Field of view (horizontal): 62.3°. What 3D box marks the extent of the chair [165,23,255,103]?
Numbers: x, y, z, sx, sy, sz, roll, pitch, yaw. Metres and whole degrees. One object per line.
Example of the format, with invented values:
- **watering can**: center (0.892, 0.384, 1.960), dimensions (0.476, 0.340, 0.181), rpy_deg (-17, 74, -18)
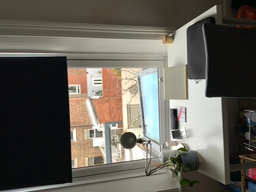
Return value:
- **chair**: center (0.750, -0.190, 1.390), dimensions (0.460, 0.860, 0.400), rpy_deg (180, 87, -75)
